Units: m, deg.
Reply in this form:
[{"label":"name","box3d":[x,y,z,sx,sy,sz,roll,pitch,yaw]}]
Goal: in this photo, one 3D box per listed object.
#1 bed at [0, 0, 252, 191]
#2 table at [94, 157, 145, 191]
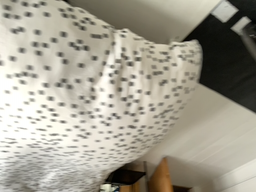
[{"label":"bed","box3d":[-0.820,0.270,1.440,1.780,0.590,2.230,16,136,-21]},{"label":"table","box3d":[-0.110,1.160,2.450,0.450,0.700,0.440,16,136,-21]}]
